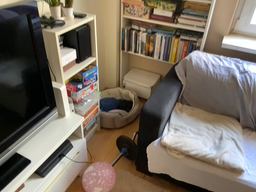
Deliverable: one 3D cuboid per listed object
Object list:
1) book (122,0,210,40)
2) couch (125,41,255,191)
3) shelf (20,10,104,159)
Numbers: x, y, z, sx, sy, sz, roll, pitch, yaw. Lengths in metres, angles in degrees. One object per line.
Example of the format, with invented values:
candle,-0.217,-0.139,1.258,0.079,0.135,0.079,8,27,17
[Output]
book,0.320,-0.740,1.940,0.750,0.240,0.180,20,39,21
couch,1.170,0.380,1.390,2.150,0.760,0.950,18,39,19
shelf,-0.420,-0.050,1.610,0.290,1.030,0.410,18,39,19
